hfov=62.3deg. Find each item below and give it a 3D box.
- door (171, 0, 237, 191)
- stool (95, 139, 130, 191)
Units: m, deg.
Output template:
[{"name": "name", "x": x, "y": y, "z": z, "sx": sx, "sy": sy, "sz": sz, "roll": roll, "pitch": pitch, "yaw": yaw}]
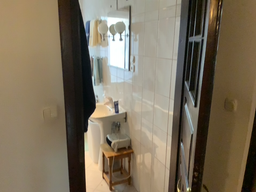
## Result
[{"name": "door", "x": 0.320, "y": 0.310, "z": 1.140, "sx": 0.130, "sy": 2.150, "sz": 0.730, "roll": 5, "pitch": 15, "yaw": 13}, {"name": "stool", "x": -0.190, "y": 0.810, "z": 2.510, "sx": 0.310, "sy": 0.460, "sz": 0.320, "roll": -5, "pitch": 16, "yaw": -25}]
